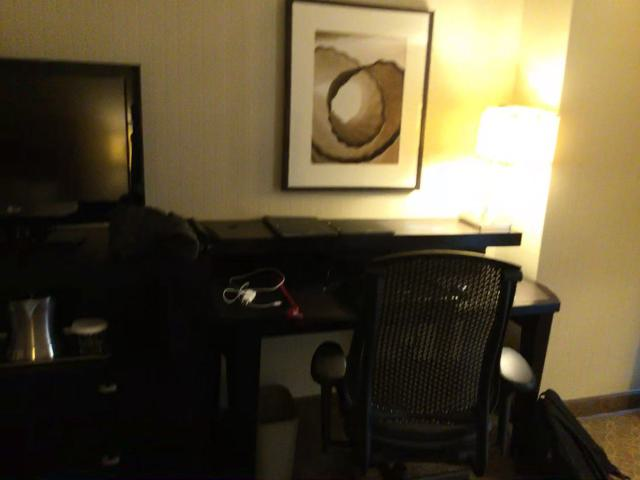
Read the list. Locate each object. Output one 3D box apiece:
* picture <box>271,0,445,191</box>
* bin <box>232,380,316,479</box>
[{"bbox_3d":[0.160,-0.610,2.410,0.710,0.800,0.070,-1,11,-19],"label":"picture"},{"bbox_3d":[-0.190,0.770,2.260,0.240,0.300,0.340,-1,11,-19],"label":"bin"}]
